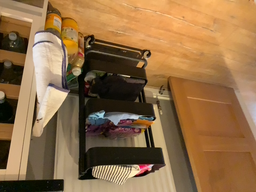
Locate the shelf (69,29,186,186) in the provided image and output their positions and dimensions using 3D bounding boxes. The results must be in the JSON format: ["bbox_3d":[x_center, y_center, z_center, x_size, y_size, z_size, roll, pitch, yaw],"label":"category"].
[{"bbox_3d":[-0.060,0.070,1.350,0.520,0.850,0.360,9,145,-27],"label":"shelf"}]

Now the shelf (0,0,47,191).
[{"bbox_3d":[-0.590,0.040,1.030,0.250,0.920,0.660,7,146,-24],"label":"shelf"}]

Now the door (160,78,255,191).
[{"bbox_3d":[0.760,0.760,1.450,0.730,1.950,0.140,8,146,-25],"label":"door"}]
